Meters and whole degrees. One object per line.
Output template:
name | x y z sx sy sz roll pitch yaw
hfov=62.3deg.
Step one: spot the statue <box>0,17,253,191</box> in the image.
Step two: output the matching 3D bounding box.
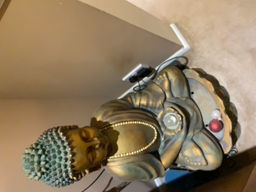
statue | 0.070 0.150 0.930 0.580 0.880 0.440 -36 69 32
